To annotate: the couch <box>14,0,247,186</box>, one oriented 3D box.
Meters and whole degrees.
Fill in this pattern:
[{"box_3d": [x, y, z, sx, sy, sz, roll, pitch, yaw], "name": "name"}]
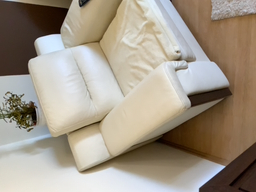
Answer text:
[{"box_3d": [-0.100, -0.160, 1.470, 1.020, 0.880, 1.010, -43, 66, 44], "name": "couch"}]
